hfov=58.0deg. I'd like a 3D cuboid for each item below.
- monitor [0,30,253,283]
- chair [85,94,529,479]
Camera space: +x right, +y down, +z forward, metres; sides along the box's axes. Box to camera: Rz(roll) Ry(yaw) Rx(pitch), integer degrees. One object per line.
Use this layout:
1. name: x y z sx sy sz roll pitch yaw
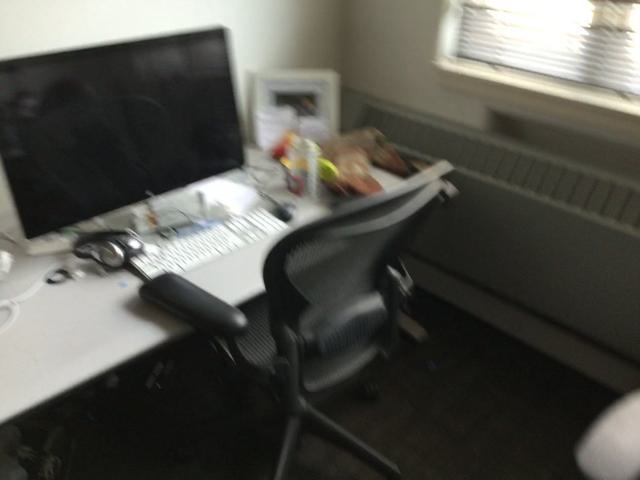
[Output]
1. monitor: -0.470 -0.240 1.440 0.170 0.490 0.630 27 35 37
2. chair: -0.050 0.220 1.510 0.670 0.970 0.730 27 35 37
